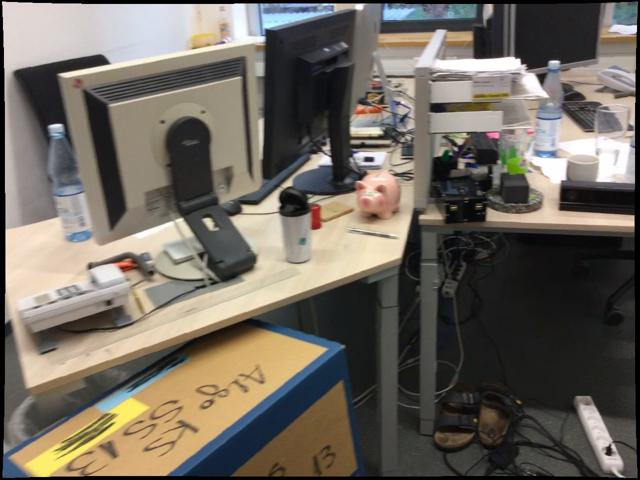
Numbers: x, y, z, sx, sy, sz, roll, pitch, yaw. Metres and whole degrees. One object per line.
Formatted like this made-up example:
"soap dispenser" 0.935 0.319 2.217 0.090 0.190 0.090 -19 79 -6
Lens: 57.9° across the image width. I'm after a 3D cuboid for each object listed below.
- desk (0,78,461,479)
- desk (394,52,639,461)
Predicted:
"desk" -0.160 0.050 2.120 1.189 0.801 2.260 3 27 15
"desk" 1.029 -0.190 2.400 1.139 0.791 2.080 3 27 15
